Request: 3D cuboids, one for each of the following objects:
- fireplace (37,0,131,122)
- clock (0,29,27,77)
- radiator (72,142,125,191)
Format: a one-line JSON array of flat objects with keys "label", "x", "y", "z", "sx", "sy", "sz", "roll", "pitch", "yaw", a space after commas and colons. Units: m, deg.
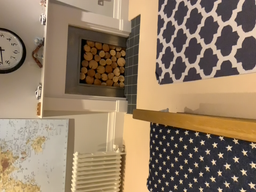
[{"label": "fireplace", "x": -0.590, "y": -0.490, "z": 3.120, "sx": 0.220, "sy": 1.260, "sz": 1.710, "roll": -3, "pitch": 84, "yaw": 62}, {"label": "clock", "x": -1.580, "y": -0.540, "z": 2.620, "sx": 0.030, "sy": 0.560, "sz": 0.560, "roll": 0, "pitch": 86, "yaw": 62}, {"label": "radiator", "x": -0.430, "y": 1.210, "z": 3.110, "sx": 0.170, "sy": 0.720, "sz": 0.990, "roll": -1, "pitch": 85, "yaw": 62}]
